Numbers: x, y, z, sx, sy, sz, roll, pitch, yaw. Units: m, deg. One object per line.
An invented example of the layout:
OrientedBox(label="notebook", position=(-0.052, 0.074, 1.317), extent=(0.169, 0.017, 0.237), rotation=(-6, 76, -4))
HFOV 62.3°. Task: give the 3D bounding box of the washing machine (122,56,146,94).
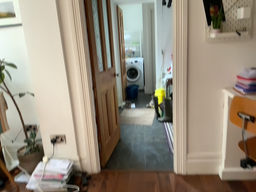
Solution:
OrientedBox(label="washing machine", position=(0.160, -0.590, 5.800), extent=(0.580, 0.920, 0.640), rotation=(-3, 15, 2))
